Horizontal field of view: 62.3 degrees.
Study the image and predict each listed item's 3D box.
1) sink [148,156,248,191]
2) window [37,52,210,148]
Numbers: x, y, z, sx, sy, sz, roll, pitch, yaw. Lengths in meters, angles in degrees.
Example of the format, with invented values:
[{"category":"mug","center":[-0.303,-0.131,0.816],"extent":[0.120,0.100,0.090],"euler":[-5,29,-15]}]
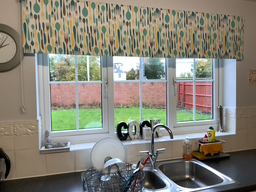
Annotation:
[{"category":"sink","center":[0.480,0.650,1.590],"extent":[0.490,0.190,0.530],"euler":[-1,3,-18]},{"category":"window","center":[0.060,0.010,1.980],"extent":[1.650,0.770,0.070],"euler":[-2,4,-19]}]
